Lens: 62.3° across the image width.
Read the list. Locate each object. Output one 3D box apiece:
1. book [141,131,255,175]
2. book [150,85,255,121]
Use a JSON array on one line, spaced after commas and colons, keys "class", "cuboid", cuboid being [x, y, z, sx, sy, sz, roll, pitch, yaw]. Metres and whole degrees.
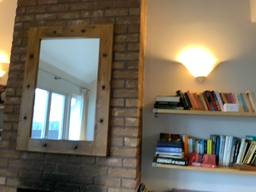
[{"class": "book", "cuboid": [0.810, 0.480, 1.820, 1.370, 0.290, 0.240, 0, -8, 13]}, {"class": "book", "cuboid": [0.840, 0.060, 1.870, 1.270, 0.290, 0.160, 1, -8, 11]}]
